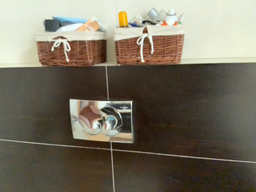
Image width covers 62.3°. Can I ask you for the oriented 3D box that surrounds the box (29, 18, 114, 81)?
[{"bbox_3d":[-0.210,-0.180,0.840,0.250,0.210,0.180,2,14,18],"label":"box"}]

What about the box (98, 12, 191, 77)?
[{"bbox_3d":[0.070,-0.180,0.770,0.290,0.190,0.190,2,14,18],"label":"box"}]
